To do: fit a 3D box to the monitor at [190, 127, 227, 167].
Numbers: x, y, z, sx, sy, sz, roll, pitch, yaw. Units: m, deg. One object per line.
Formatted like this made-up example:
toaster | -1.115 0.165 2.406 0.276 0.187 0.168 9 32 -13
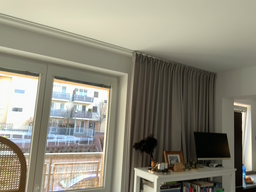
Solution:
monitor | 1.000 0.620 2.610 0.490 0.400 0.040 -5 -3 -24
